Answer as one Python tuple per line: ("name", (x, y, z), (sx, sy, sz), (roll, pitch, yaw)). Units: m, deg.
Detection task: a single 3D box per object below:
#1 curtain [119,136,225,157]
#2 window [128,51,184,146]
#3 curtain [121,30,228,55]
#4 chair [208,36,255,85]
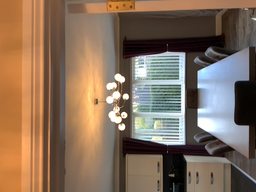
("curtain", (0.960, 1.130, 4.800), (0.230, 2.310, 0.380), (15, -105, -85))
("window", (0.650, 0.040, 4.970), (0.100, 1.280, 2.180), (33, -122, -85))
("curtain", (1.000, -1.190, 4.770), (0.260, 2.300, 0.440), (37, -127, -84))
("chair", (1.450, -0.390, 2.460), (0.410, 0.900, 0.510), (-37, -53, -84))
